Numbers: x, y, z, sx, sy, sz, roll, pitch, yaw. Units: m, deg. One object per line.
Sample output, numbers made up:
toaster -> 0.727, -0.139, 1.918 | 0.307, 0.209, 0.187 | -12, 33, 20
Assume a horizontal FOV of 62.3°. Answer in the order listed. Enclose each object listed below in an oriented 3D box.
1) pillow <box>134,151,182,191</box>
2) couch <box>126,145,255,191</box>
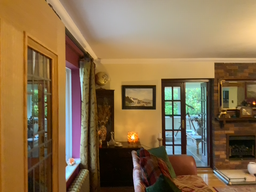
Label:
pillow -> 0.300, 0.950, 2.310 | 0.430, 0.560, 0.520 | 0, 0, -3
couch -> 0.570, 1.280, 2.560 | 1.110, 0.840, 2.280 | 0, 0, -2
